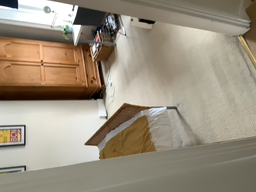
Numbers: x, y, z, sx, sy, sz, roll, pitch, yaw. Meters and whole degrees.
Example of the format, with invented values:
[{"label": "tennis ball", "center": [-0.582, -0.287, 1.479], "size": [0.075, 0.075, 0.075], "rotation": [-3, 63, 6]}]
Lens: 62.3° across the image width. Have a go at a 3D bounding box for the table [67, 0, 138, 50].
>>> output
[{"label": "table", "center": [-0.460, -1.330, 3.390], "size": [1.010, 0.740, 0.610], "rotation": [-45, 52, 52]}]
